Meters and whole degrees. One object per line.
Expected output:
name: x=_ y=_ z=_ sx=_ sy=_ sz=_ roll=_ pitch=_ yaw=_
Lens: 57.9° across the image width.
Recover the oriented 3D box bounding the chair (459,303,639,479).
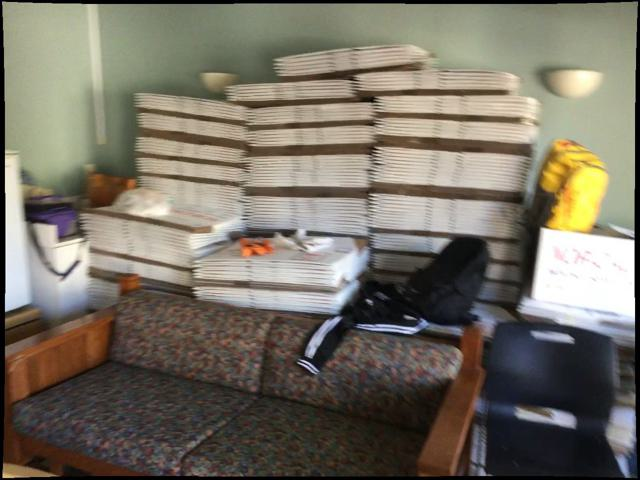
chair: x=0.809 y=0.751 z=2.130 sx=0.520 sy=0.811 sz=0.640 roll=6 pitch=15 yaw=18

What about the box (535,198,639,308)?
box: x=1.249 y=0.040 z=2.590 sx=0.470 sy=0.350 sz=0.450 roll=7 pitch=16 yaw=24
